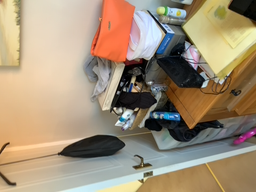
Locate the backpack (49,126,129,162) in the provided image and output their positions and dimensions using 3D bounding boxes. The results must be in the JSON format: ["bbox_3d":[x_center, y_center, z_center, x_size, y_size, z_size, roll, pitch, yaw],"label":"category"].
[{"bbox_3d":[-0.280,0.310,1.470,0.360,0.450,0.120,0,92,61],"label":"backpack"}]

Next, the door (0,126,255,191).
[{"bbox_3d":[-0.100,0.390,1.480,0.910,2.040,0.070,-2,90,61],"label":"door"}]
